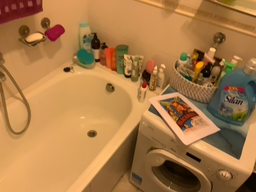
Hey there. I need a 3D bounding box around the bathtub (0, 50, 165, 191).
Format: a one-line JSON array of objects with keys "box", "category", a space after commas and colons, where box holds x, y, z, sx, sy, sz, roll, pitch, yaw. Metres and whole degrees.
[{"box": [-0.450, 0.370, 1.240, 0.680, 0.550, 1.430, 27, 46, 20], "category": "bathtub"}]

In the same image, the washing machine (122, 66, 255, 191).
[{"box": [0.350, 0.320, 1.300, 0.520, 0.700, 0.520, 26, 46, 19], "category": "washing machine"}]
